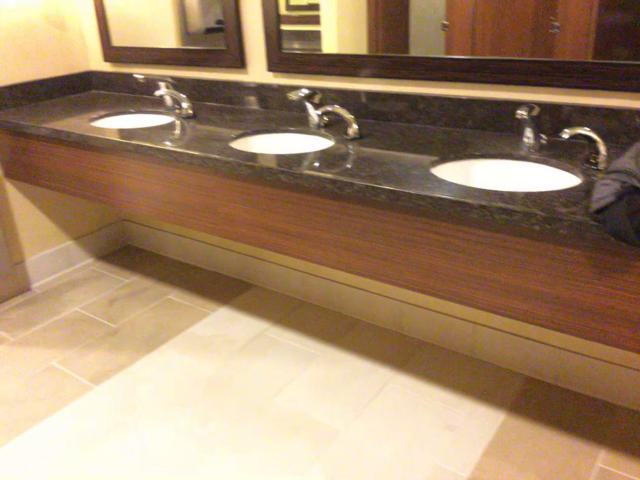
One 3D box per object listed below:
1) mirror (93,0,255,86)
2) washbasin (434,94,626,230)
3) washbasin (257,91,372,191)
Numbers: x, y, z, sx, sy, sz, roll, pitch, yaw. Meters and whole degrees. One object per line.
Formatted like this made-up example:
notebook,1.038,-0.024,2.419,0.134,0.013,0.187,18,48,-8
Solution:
mirror,-0.660,-0.960,2.470,0.940,0.490,0.090,18,29,35
washbasin,0.560,-0.230,1.570,0.390,0.250,0.270,18,29,35
washbasin,-0.020,-0.350,1.980,0.330,0.260,0.200,18,29,35
